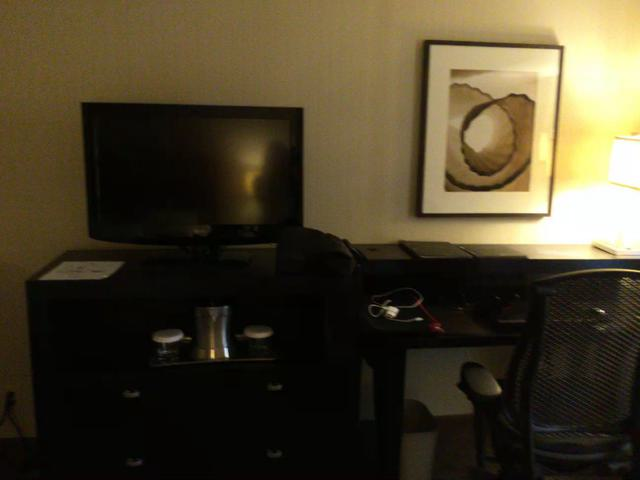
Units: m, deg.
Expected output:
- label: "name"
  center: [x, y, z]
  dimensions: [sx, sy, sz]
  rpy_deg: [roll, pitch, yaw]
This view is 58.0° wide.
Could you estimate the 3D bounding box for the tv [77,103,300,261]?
- label: "tv"
  center: [-0.470, -0.210, 2.160]
  dimensions: [0.770, 0.550, 0.170]
  rpy_deg: [0, 9, -8]
